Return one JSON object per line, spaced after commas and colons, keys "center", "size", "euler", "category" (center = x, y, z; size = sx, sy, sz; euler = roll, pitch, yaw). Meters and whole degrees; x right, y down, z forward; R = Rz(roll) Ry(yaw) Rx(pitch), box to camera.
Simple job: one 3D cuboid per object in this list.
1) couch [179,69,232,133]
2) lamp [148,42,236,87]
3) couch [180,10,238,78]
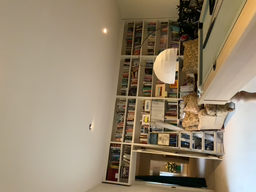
{"center": [1.530, 0.130, 4.390], "size": [1.070, 0.810, 0.890], "euler": [74, -158, -61], "category": "couch"}
{"center": [1.190, -0.590, 4.170], "size": [0.700, 1.500, 0.730], "euler": [10, -97, -80], "category": "lamp"}
{"center": [1.610, -0.980, 4.530], "size": [1.710, 0.810, 0.960], "euler": [16, -103, -79], "category": "couch"}
